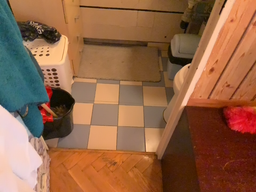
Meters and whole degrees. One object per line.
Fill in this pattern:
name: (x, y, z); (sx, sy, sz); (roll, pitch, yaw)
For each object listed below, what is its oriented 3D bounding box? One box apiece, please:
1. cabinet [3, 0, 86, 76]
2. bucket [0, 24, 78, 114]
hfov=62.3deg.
cabinet: (-0.580, -0.670, 1.570); (0.390, 1.000, 0.460); (3, 51, -2)
bucket: (-0.590, -0.170, 1.490); (0.380, 0.500, 0.370); (1, 51, -4)
